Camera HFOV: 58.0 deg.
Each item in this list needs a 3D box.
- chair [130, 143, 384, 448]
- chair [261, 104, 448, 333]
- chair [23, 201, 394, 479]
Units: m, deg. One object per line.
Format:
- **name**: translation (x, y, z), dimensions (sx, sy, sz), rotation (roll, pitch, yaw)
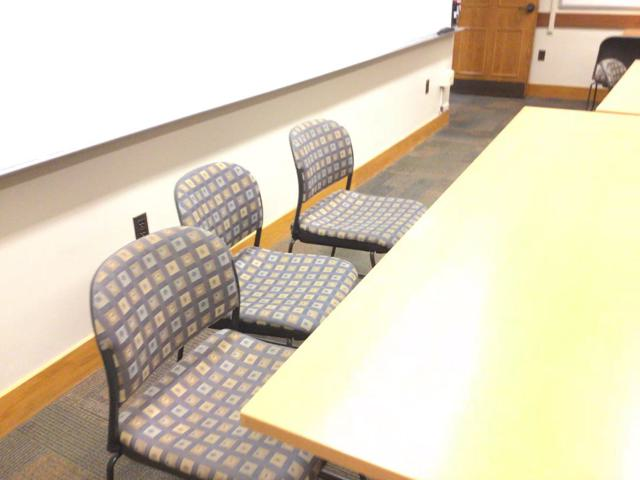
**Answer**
- **chair**: translation (-0.150, 0.130, 1.840), dimensions (0.520, 0.730, 0.520), rotation (9, 28, 27)
- **chair**: translation (0.170, -0.120, 2.340), dimensions (0.550, 0.740, 0.490), rotation (9, 28, 27)
- **chair**: translation (-0.190, 0.370, 1.370), dimensions (0.550, 0.730, 0.530), rotation (9, 28, 27)
